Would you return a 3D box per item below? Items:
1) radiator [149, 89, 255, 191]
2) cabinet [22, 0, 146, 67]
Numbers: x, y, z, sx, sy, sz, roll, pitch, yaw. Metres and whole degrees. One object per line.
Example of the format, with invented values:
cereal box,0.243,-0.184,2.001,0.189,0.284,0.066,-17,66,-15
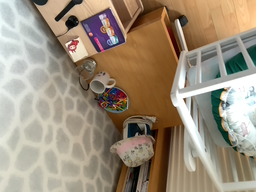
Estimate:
radiator,0.460,0.340,0.980,0.670,0.830,0.190,-18,120,26
cabinet,-0.190,-0.490,1.060,0.350,0.470,0.430,-16,120,25
